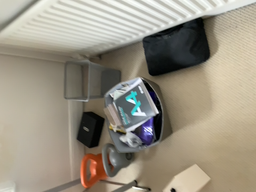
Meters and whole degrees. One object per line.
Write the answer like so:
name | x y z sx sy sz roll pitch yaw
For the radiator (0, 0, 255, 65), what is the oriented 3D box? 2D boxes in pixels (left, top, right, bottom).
radiator | 0.130 -0.400 1.030 1.490 0.990 0.100 -8 85 39
